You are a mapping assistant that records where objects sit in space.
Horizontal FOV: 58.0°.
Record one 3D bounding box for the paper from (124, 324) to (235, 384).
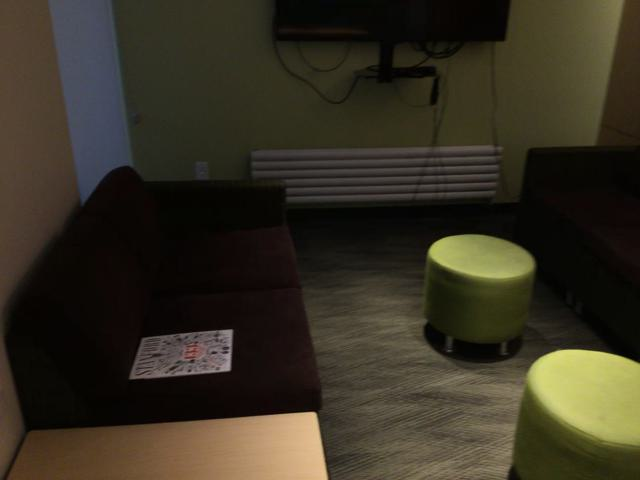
[{"bbox_3d":[-0.390,0.320,1.650,0.280,0.030,0.220,-2,26,-4],"label":"paper"}]
